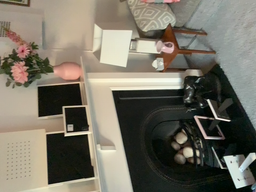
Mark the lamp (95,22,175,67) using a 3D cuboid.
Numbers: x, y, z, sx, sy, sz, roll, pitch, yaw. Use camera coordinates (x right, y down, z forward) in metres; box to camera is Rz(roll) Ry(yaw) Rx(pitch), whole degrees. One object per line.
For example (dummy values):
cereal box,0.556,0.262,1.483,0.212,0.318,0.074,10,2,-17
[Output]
lamp,0.060,-0.450,1.930,0.260,0.640,0.240,121,142,-52
